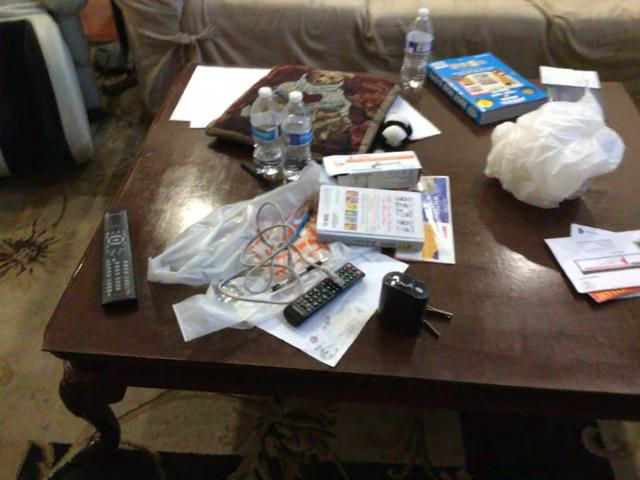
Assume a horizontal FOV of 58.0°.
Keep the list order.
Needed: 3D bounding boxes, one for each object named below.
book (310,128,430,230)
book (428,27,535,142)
[{"bbox_3d":[0.100,-0.130,1.230,0.230,0.140,0.150,4,-48,0],"label":"book"},{"bbox_3d":[0.420,-0.420,1.540,0.220,0.310,0.080,21,-51,-17],"label":"book"}]
